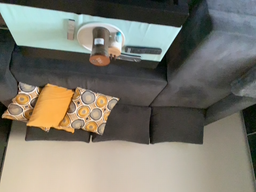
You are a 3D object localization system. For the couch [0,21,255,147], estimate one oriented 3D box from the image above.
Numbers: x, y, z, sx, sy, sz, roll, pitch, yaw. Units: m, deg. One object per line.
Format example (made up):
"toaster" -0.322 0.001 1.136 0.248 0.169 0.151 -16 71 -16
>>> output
"couch" -0.060 0.030 2.270 2.390 0.790 1.120 4 159 -8
